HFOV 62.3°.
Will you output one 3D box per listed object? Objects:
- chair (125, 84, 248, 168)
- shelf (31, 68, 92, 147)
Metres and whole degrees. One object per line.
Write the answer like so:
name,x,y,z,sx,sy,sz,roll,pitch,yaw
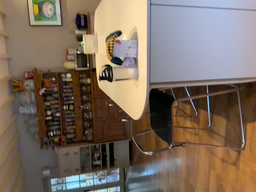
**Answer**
chair,0.440,0.190,1.700,0.390,0.850,0.470,-144,51,-69
shelf,-1.390,0.230,4.590,0.250,1.090,1.620,-146,53,-70
